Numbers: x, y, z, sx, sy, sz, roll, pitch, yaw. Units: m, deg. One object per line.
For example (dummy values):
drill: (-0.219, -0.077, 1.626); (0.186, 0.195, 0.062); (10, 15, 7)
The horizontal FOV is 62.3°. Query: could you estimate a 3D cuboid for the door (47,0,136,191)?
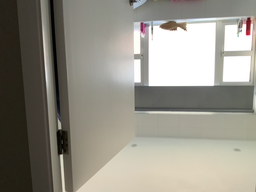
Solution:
door: (-0.130, -0.600, 1.110); (0.050, 2.040, 0.810); (2, -171, 21)
